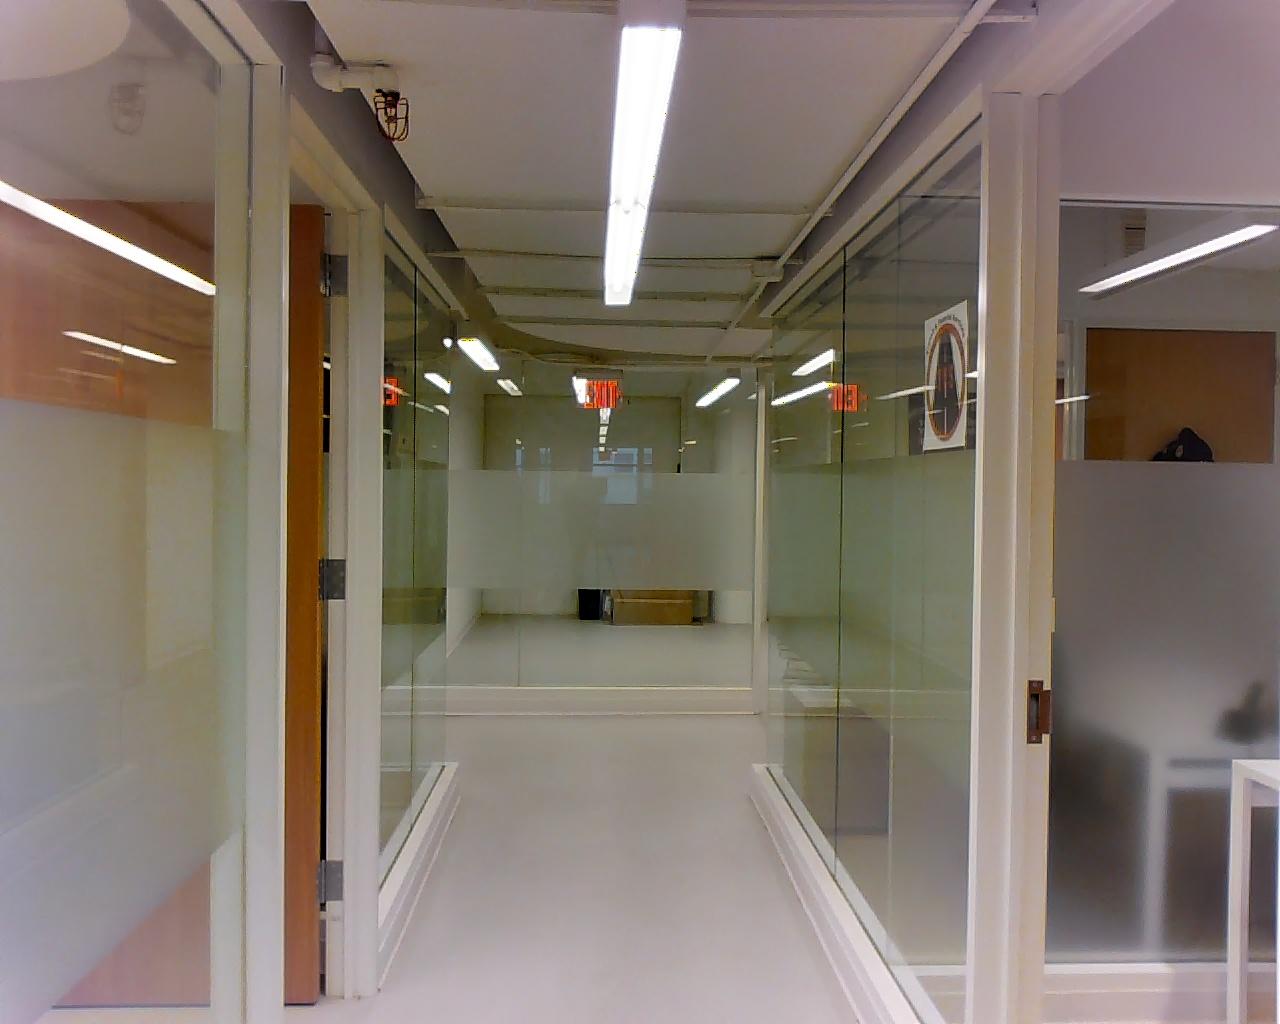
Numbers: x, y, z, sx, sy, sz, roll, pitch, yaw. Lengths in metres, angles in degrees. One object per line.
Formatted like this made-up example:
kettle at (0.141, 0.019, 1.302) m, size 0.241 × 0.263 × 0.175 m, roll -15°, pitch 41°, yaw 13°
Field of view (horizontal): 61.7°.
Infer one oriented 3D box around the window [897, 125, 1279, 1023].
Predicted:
window at (1.940, 0.210, 2.960) m, size 2.409 × 2.421 × 0.130 m, roll 1°, pitch 1°, yaw -3°
